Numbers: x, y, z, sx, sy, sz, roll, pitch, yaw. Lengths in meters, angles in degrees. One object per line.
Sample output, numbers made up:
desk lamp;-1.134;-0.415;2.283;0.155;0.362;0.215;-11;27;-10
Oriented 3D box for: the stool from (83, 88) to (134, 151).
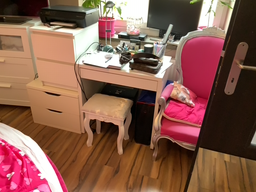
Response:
stool;-0.170;0.210;1.970;0.370;0.430;0.320;9;31;10
